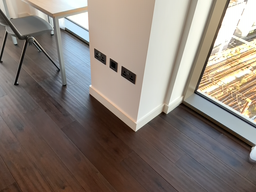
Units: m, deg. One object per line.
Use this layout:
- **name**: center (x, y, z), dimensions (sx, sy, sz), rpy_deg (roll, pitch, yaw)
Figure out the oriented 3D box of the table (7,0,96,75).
- **table**: center (-0.880, -0.830, 2.440), dimensions (0.990, 0.690, 0.470), rpy_deg (34, 48, 29)
